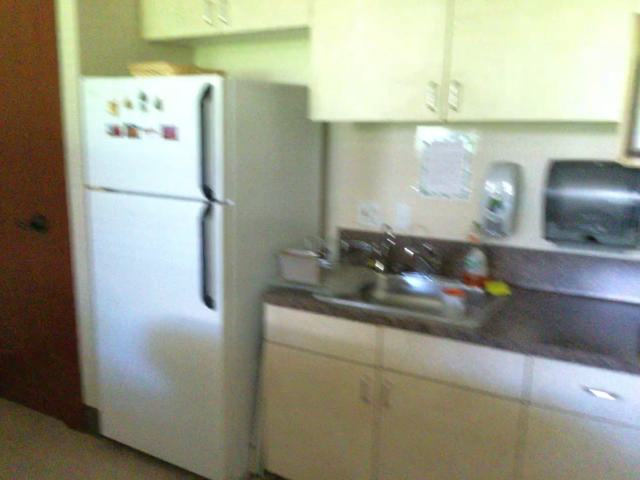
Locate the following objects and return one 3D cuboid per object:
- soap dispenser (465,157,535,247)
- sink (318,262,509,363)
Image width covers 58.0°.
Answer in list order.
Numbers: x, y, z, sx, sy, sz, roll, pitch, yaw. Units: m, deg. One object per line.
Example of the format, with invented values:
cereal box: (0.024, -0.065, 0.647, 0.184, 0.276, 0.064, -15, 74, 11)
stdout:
soap dispenser: (0.680, -0.150, 2.190, 0.210, 0.320, 0.120, 6, 12, 33)
sink: (0.360, 0.240, 2.160, 0.520, 0.160, 0.550, 6, 12, 33)
